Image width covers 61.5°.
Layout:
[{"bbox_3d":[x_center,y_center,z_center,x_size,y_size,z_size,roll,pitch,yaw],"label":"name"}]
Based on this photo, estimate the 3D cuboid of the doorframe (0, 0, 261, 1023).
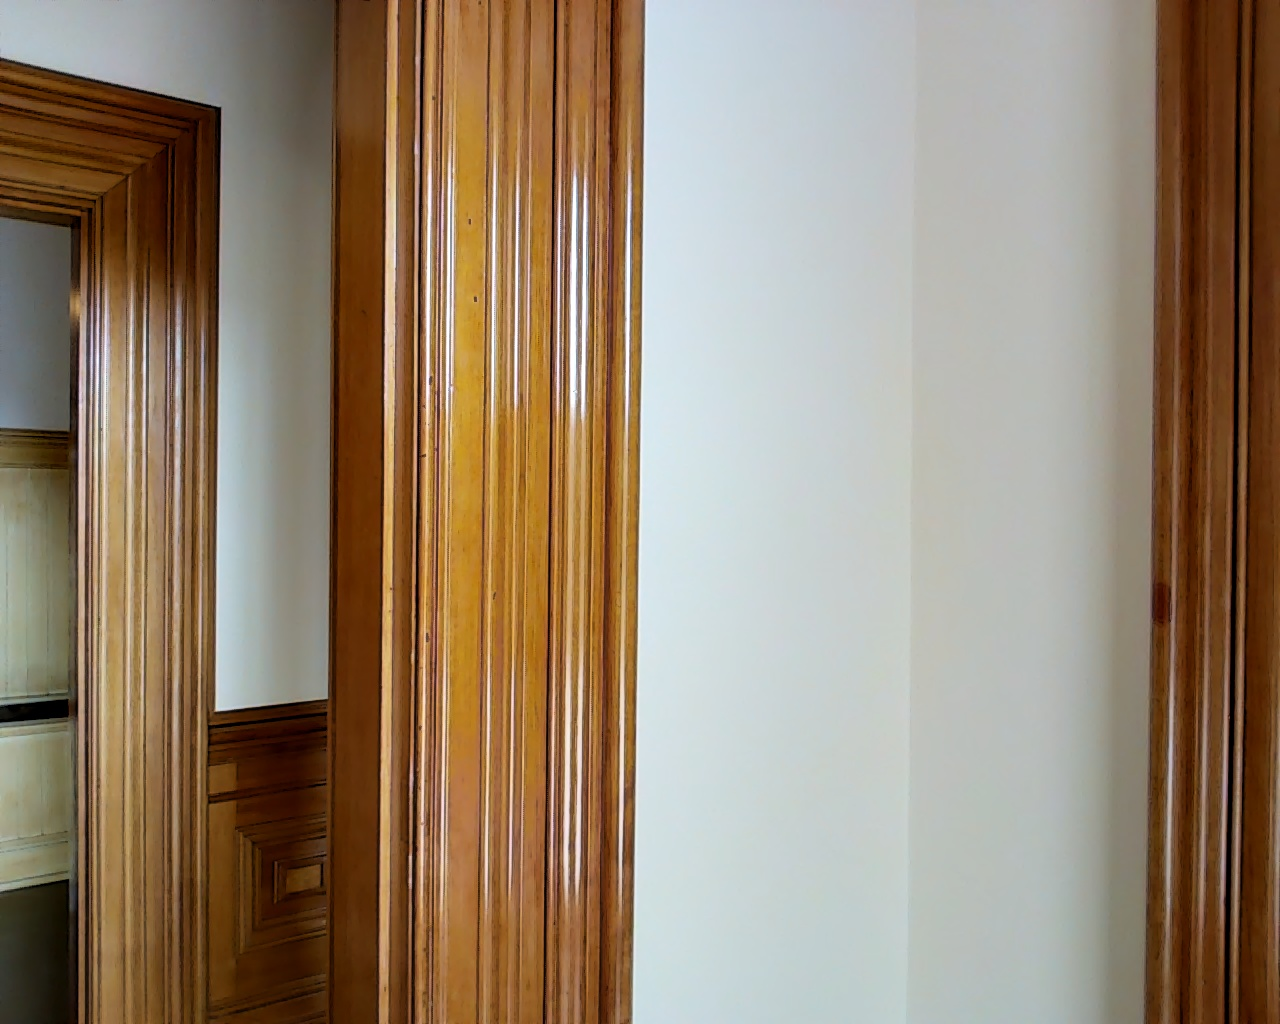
[{"bbox_3d":[-1.640,0.210,2.350,1.450,2.590,0.460,-1,1,-37],"label":"doorframe"}]
